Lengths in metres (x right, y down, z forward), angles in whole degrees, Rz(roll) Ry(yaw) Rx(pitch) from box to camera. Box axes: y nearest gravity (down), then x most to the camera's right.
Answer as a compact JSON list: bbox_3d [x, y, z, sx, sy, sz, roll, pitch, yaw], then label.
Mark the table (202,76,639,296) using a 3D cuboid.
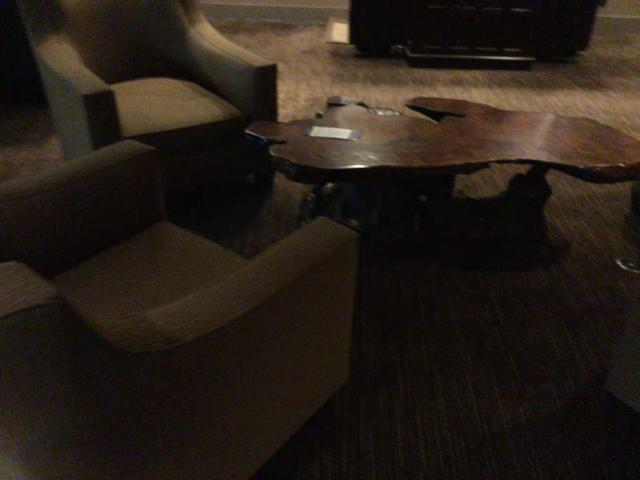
[{"bbox_3d":[0.470,-0.270,2.400,1.740,0.480,0.850,-3,33,-1],"label":"table"}]
